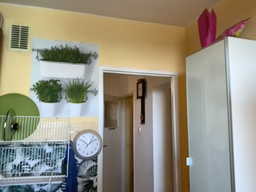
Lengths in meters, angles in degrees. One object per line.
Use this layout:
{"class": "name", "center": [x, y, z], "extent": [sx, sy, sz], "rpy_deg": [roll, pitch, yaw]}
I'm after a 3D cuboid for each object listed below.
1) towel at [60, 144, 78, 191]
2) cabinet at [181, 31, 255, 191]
{"class": "towel", "center": [-0.450, 0.600, 1.610], "extent": [0.120, 0.450, 0.110], "rpy_deg": [2, -7, -18]}
{"class": "cabinet", "center": [0.610, 0.680, 1.320], "extent": [0.290, 2.030, 0.460], "rpy_deg": [2, -7, -19]}
